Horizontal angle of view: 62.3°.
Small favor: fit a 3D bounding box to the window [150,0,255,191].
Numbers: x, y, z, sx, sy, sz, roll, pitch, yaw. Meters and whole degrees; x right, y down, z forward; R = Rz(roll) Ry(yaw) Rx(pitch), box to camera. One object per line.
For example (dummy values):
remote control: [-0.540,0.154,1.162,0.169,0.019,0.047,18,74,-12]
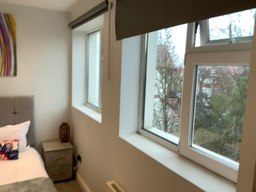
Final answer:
window: [0.600,-0.110,1.620,0.130,1.210,1.190,-2,9,-29]
